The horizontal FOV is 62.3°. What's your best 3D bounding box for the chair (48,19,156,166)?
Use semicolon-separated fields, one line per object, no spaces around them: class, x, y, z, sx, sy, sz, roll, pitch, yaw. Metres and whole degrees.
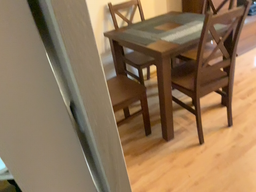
chair;-0.160;-0.040;1.640;0.510;0.920;0.440;-24;33;-22

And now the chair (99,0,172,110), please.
chair;0.100;-0.440;2.200;0.440;0.960;0.480;-25;34;-24

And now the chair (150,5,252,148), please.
chair;0.530;-0.160;1.640;0.440;0.920;0.460;-25;34;-23

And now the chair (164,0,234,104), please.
chair;0.680;-0.470;2.110;0.400;0.930;0.440;-23;33;-21
